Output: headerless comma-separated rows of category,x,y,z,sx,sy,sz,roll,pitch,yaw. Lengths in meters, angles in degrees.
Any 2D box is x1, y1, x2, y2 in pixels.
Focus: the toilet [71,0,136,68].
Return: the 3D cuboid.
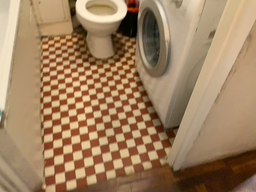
toilet,-0.240,-0.800,1.650,0.400,0.820,0.750,-9,49,-12
